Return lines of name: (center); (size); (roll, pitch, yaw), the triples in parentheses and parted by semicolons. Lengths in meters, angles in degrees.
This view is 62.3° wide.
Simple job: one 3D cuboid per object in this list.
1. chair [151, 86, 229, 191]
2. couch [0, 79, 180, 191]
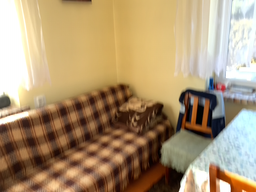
chair: (0.630, 0.420, 2.180); (0.480, 0.860, 0.660); (13, 23, 40)
couch: (-0.400, 0.470, 2.190); (0.990, 0.820, 2.040); (12, 22, 37)
